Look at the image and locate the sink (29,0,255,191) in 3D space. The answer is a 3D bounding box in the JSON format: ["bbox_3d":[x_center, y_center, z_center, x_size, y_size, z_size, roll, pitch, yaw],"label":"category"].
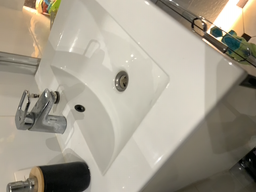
[{"bbox_3d":[-0.070,-0.060,0.590,0.630,0.140,0.460,53,124,35],"label":"sink"}]
